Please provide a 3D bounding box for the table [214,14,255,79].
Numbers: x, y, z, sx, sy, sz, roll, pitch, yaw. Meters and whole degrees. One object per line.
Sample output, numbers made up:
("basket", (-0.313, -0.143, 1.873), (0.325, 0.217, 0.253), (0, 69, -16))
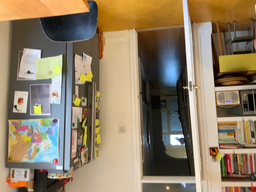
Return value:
("table", (1.640, -0.670, 2.960), (0.700, 0.750, 0.440), (-4, 174, 12))
